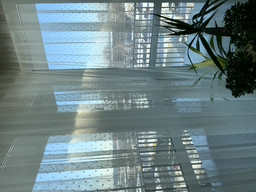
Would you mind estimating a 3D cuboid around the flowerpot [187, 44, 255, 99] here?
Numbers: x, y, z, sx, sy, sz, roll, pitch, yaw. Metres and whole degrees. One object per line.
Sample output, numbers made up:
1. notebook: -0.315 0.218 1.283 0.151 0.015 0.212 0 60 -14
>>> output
1. flowerpot: 1.110 -0.280 2.090 0.720 0.810 0.290 -100 10 -62
